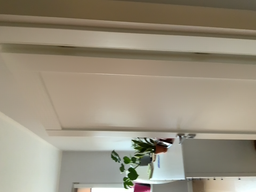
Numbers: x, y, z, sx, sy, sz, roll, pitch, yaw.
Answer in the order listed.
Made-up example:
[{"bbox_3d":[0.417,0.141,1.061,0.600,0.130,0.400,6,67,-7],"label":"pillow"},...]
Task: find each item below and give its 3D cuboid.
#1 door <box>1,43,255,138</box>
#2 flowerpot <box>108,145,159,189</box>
[{"bbox_3d":[0.510,0.070,1.270,0.840,2.060,0.090,100,171,-61],"label":"door"},{"bbox_3d":[0.070,1.070,3.190,0.330,0.700,0.590,104,167,-69],"label":"flowerpot"}]
